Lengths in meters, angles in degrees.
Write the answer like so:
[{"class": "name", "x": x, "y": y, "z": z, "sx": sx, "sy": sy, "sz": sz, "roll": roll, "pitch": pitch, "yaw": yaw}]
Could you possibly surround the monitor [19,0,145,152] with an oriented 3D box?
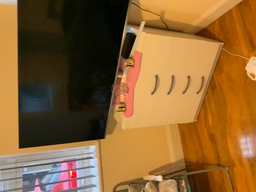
[{"class": "monitor", "x": -0.330, "y": -0.120, "z": 1.430, "sx": 0.050, "sy": 0.710, "sz": 1.110, "roll": 49, "pitch": 133, "yaw": 53}]
